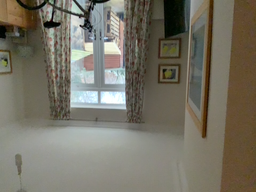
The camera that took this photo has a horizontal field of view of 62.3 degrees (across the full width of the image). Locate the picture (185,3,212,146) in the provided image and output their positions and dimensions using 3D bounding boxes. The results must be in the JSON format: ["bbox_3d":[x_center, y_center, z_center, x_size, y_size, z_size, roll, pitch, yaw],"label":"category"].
[{"bbox_3d":[0.550,-0.180,1.750,0.030,0.900,0.830,1,-170,8],"label":"picture"}]

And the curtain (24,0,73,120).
[{"bbox_3d":[-1.540,-0.950,4.130,0.710,2.830,0.290,1,-170,7],"label":"curtain"}]

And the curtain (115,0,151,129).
[{"bbox_3d":[0.100,-0.830,3.850,0.610,2.870,0.230,1,-170,10],"label":"curtain"}]

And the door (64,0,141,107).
[{"bbox_3d":[-0.530,-1.090,4.430,1.580,2.610,0.110,1,-170,11],"label":"door"}]
